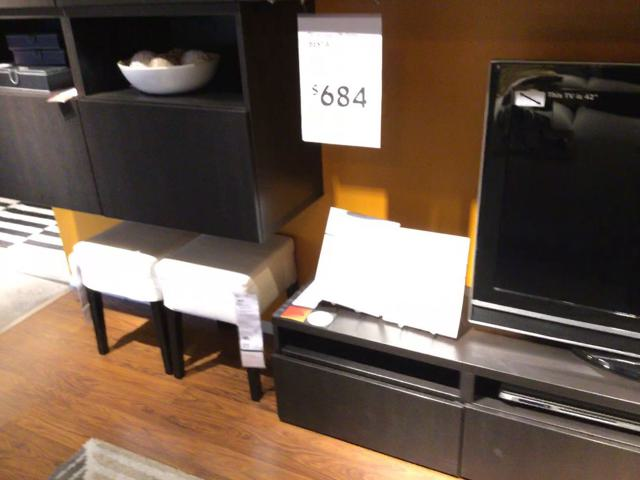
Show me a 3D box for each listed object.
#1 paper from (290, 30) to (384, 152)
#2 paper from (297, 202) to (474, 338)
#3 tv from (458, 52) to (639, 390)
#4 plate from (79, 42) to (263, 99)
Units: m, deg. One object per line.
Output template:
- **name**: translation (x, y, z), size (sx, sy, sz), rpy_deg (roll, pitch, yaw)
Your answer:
- **paper**: translation (0.040, -0.360, 1.390), size (0.220, 0.270, 0.050), rpy_deg (11, 27, 27)
- **paper**: translation (0.190, 0.080, 1.700), size (0.490, 0.300, 0.110), rpy_deg (11, 36, 27)
- **tv**: translation (0.860, 0.010, 1.220), size (1.070, 0.740, 0.120), rpy_deg (11, 27, 27)
- **plate**: translation (-0.450, -0.540, 1.800), size (0.380, 0.110, 0.390), rpy_deg (11, 27, 27)
